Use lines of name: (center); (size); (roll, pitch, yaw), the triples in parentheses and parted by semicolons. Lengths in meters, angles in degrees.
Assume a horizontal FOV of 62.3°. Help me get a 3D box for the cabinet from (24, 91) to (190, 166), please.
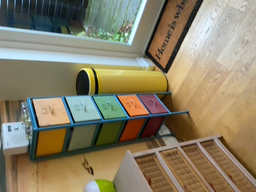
cabinet: (-0.110, 0.200, 1.740); (0.320, 1.290, 0.340); (54, 134, 40)
